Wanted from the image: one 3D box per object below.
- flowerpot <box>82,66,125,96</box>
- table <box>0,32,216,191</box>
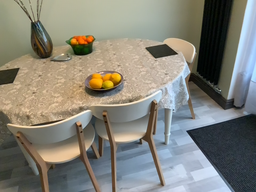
[{"bbox_3d":[-0.170,-0.110,1.430,0.250,0.070,0.220,-10,34,-9],"label":"flowerpot"},{"bbox_3d":[-0.300,0.060,1.990,1.560,0.780,1.230,-11,34,-11],"label":"table"}]
